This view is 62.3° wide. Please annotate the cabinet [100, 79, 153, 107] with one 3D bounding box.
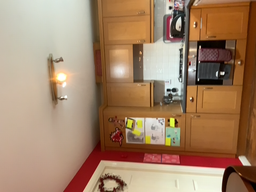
[{"bbox_3d":[-0.010,-0.060,3.560,0.310,0.850,0.390,-56,-35,-73],"label":"cabinet"}]
